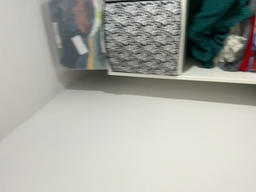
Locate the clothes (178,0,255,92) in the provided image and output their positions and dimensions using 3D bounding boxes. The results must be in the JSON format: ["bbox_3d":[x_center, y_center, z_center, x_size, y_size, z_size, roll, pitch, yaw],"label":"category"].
[{"bbox_3d":[0.380,-0.560,0.800,0.280,0.300,1.050,-54,-35,-56],"label":"clothes"}]
